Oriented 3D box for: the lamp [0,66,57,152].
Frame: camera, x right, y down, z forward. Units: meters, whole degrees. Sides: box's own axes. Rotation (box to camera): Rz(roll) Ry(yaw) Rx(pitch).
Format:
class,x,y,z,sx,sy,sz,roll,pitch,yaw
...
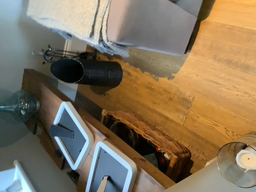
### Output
class,x,y,z,sx,sy,sz,roll,pitch,yaw
lamp,-0.970,0.070,1.430,0.460,0.740,0.450,30,110,38
